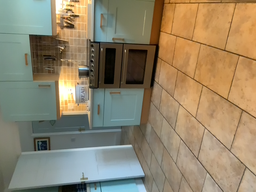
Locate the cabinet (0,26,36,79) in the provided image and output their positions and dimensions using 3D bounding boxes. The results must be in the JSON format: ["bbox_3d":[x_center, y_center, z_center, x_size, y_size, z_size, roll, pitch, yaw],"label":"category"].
[{"bbox_3d":[-1.510,-0.570,2.780,0.330,0.470,0.600,-119,32,-63],"label":"cabinet"}]

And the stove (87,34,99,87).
[{"bbox_3d":[-0.500,-0.510,2.930,0.580,0.100,0.600,-119,32,-63],"label":"stove"}]

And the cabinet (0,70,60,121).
[{"bbox_3d":[-1.410,-0.010,3.060,0.330,0.790,0.630,-119,32,-63],"label":"cabinet"}]
